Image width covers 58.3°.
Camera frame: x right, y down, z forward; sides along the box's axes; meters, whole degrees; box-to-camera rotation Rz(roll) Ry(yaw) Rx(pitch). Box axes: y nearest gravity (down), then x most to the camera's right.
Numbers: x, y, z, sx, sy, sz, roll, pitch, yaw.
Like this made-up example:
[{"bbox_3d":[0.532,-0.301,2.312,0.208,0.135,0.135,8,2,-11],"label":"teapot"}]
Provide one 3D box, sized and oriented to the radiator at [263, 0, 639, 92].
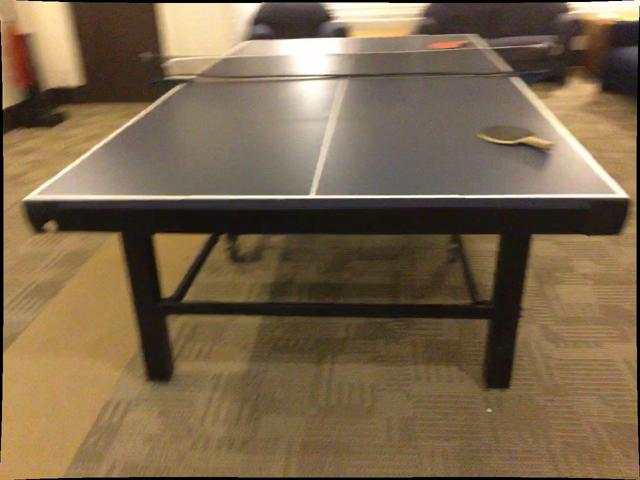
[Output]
[{"bbox_3d":[1.509,-2.092,5.540,3.817,0.771,1.790,-1,27,4],"label":"radiator"}]
